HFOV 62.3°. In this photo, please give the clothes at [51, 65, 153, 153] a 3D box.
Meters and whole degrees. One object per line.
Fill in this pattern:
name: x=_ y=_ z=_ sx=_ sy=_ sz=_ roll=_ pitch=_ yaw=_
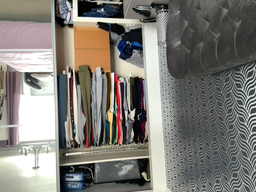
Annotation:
clothes: x=-0.290 y=0.130 z=2.410 sx=1.030 sy=0.880 sz=0.360 roll=-2 pitch=177 yaw=-9
